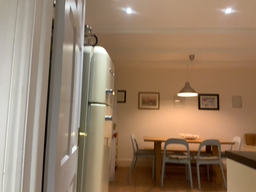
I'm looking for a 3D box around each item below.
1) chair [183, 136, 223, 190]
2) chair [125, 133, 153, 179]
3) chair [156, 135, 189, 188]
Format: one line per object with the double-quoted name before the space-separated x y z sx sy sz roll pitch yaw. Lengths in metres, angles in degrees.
"chair" 1.280 1.130 3.690 0.470 0.790 0.530 2 -6 -4
"chair" 0.220 1.140 4.150 0.490 0.790 0.480 1 -6 5
"chair" 0.770 1.120 3.740 0.470 0.790 0.530 2 -6 2
